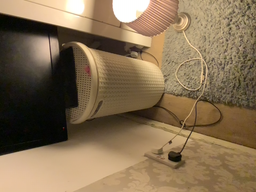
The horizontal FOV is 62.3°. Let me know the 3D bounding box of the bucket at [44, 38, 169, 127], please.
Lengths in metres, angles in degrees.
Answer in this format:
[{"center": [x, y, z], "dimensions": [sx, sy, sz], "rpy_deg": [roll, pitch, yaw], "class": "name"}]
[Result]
[{"center": [-0.110, -0.100, 1.250], "dimensions": [0.410, 0.580, 0.380], "rpy_deg": [14, 101, 41], "class": "bucket"}]
